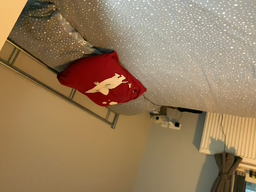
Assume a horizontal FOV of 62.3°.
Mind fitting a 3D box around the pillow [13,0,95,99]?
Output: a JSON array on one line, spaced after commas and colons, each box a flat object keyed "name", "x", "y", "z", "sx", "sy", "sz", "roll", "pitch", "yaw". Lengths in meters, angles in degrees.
[{"name": "pillow", "x": -0.380, "y": -0.290, "z": 1.220, "sx": 0.180, "sy": 0.470, "sz": 0.510, "roll": -18, "pitch": 100, "yaw": -2}]
